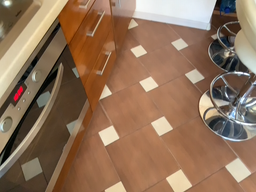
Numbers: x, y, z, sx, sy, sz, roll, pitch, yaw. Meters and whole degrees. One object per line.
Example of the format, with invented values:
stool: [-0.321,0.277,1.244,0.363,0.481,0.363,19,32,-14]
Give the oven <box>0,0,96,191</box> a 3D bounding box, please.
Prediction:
oven: [-0.600,0.100,0.950,0.630,0.860,0.570,12,58,9]
